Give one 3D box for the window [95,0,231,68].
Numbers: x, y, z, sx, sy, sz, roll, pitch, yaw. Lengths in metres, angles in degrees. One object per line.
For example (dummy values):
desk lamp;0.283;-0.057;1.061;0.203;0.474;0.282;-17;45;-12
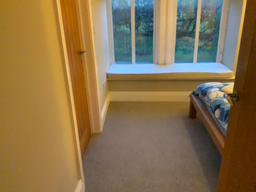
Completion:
window;0.530;-1.310;3.450;2.090;1.720;0.130;1;22;6
